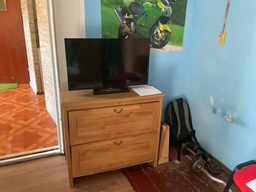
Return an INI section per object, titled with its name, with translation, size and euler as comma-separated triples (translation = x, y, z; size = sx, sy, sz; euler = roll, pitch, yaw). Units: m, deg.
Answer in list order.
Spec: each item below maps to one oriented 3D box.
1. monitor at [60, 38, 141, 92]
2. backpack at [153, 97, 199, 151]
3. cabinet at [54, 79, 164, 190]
[monitor]
translation = -0.220, -0.270, 1.830
size = 0.670, 0.440, 0.050
euler = -5, 22, -19
[backpack]
translation = 0.550, 0.320, 2.510
size = 0.360, 0.510, 0.300
euler = -6, 23, -22
[cabinet]
translation = -0.200, 0.310, 2.050
size = 0.880, 0.790, 0.490
euler = -6, 23, -21
